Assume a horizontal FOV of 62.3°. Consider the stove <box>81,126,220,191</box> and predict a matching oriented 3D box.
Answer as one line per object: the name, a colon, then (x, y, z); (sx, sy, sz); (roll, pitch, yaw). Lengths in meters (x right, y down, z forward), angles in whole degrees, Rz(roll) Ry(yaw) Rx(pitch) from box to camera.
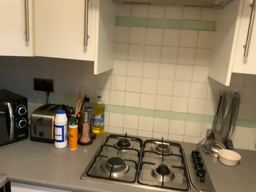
stove: (0.120, 0.310, 1.150); (0.580, 0.040, 0.540); (6, 13, 7)
